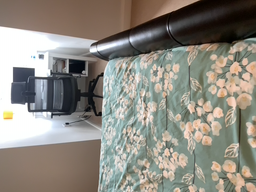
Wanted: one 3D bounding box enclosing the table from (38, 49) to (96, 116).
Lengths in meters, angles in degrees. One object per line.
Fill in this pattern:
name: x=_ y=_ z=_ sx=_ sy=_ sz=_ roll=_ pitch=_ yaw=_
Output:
table: x=-0.960 y=-0.200 z=3.300 sx=0.540 sy=0.730 sz=0.910 roll=8 pitch=97 yaw=60
